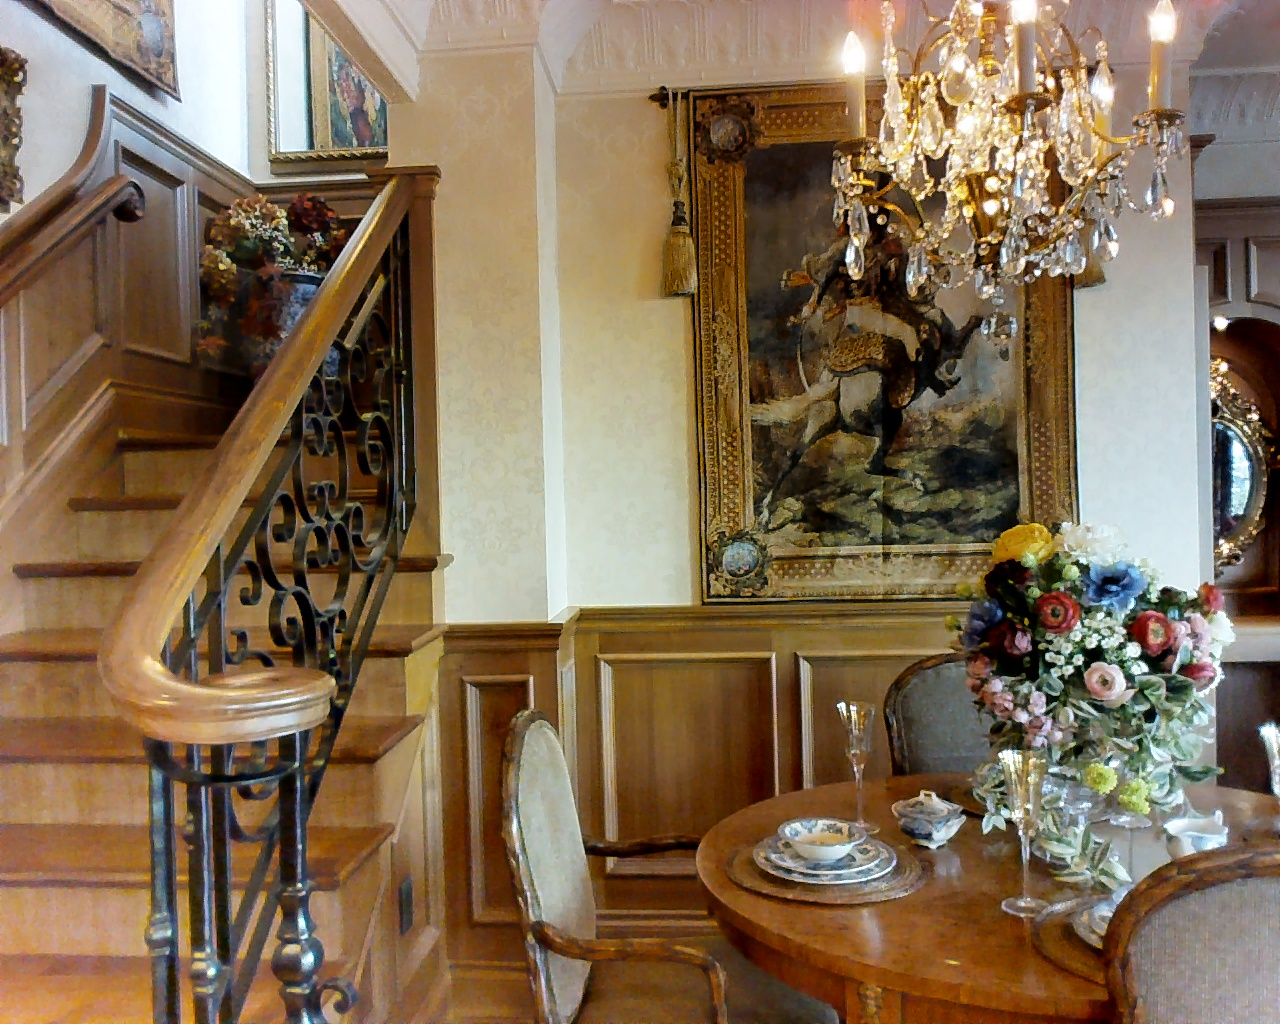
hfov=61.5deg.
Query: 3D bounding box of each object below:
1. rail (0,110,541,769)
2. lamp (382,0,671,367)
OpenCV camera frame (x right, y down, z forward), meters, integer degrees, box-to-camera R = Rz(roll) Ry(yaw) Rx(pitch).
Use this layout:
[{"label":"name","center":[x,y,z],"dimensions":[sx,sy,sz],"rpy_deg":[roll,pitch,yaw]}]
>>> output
[{"label":"rail","center":[-1.180,-0.050,3.710],"dimensions":[0.420,1.050,2.380],"rpy_deg":[-15,-38,23]},{"label":"lamp","center":[-0.300,-1.010,2.970],"dimensions":[0.730,1.160,0.300],"rpy_deg":[-1,1,5]}]
